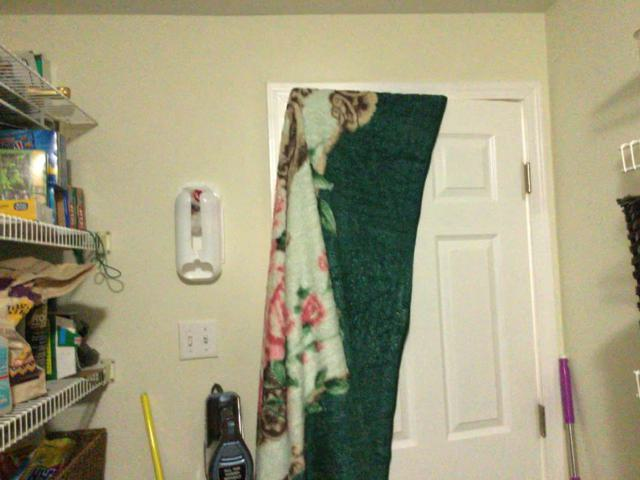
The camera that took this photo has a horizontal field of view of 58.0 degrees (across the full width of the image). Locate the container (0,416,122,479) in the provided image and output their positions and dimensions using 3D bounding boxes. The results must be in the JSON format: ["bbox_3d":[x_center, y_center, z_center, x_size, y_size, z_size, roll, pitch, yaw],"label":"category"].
[{"bbox_3d":[-0.740,0.650,1.450,0.360,0.290,0.450,-1,-4,-5],"label":"container"}]
